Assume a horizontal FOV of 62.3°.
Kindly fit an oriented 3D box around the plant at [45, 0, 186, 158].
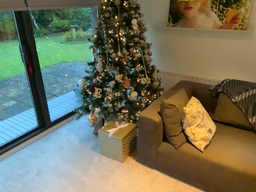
[{"bbox_3d":[-0.080,-0.550,2.580,1.080,1.980,1.150,15,28,31],"label":"plant"}]
